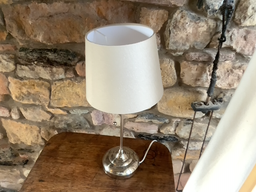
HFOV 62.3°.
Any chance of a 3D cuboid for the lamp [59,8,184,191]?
[{"bbox_3d":[-0.020,0.020,0.730,0.280,0.550,0.270,4,31,2],"label":"lamp"}]
